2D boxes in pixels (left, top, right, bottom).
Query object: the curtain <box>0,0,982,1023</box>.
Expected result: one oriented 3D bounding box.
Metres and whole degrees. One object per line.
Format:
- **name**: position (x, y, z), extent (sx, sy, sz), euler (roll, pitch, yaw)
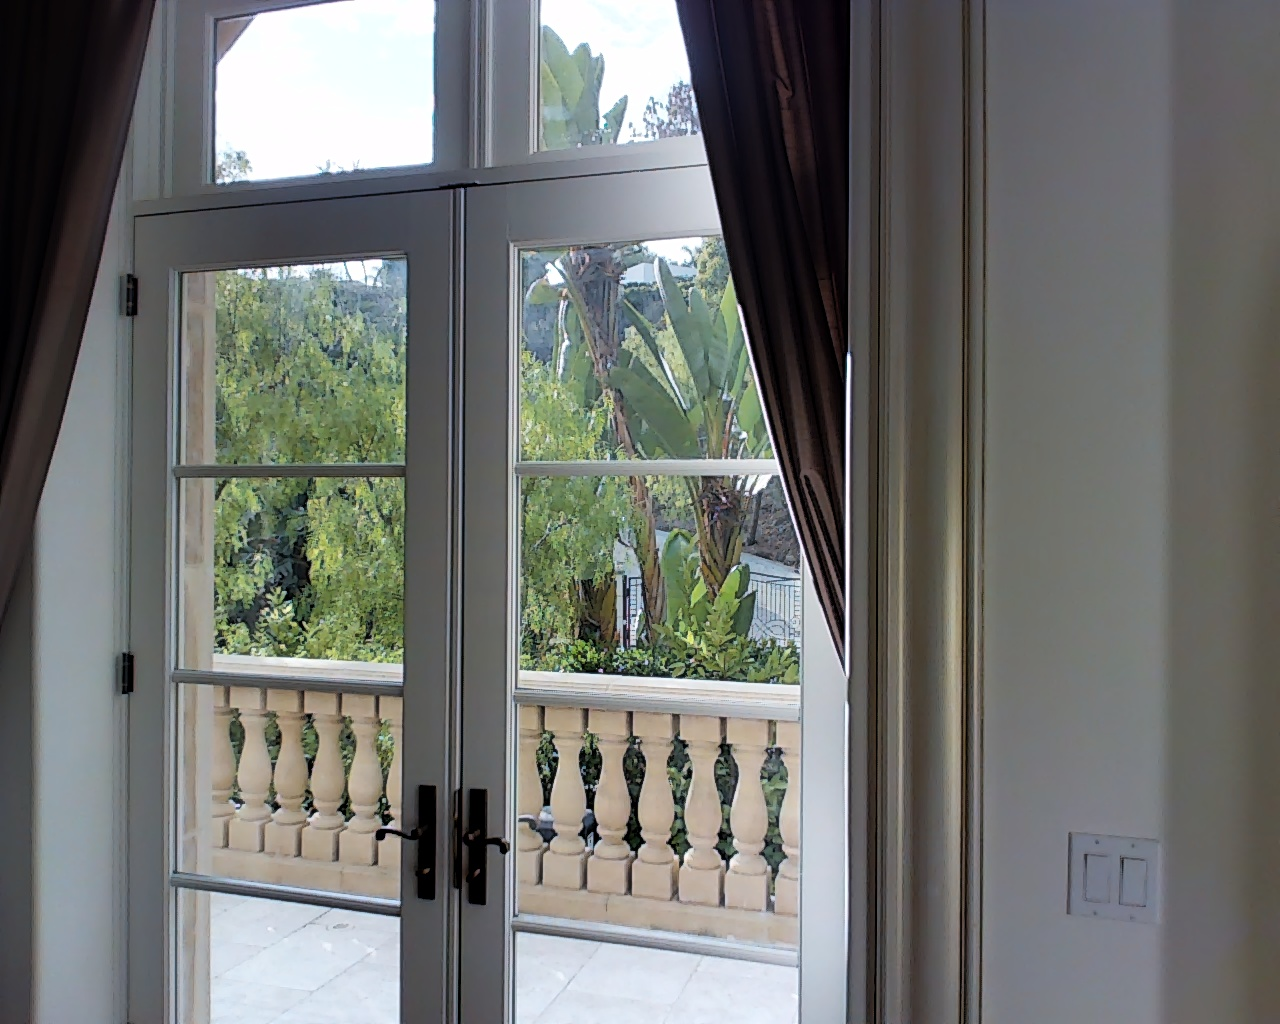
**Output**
- **curtain**: position (-0.490, 0.040, 2.250), extent (2.279, 3.231, 0.450), euler (1, 0, 17)
